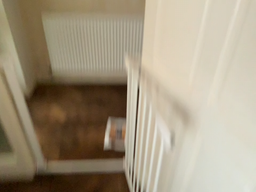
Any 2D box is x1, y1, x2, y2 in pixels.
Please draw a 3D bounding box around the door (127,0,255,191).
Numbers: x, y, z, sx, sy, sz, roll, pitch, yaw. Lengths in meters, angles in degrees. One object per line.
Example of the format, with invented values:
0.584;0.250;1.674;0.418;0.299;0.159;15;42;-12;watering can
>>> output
0.240;0.000;0.780;0.060;1.970;0.820;-16;40;-23;door
